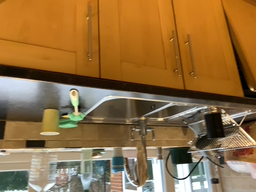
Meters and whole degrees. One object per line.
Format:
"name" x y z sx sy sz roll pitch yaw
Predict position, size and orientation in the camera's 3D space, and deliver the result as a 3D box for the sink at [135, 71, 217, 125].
"sink" 0.260 0.040 1.290 0.240 0.190 0.450 6 160 -27
